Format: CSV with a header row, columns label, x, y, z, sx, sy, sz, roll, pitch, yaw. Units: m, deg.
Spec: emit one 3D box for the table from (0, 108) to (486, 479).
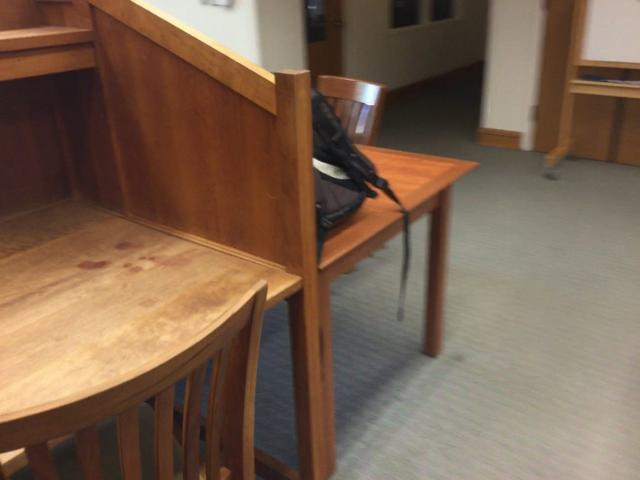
label,x,y,z,sx,sy,sz,roll,pitch,yaw
table,-0.410,0.040,2.240,1.760,0.830,0.960,13,28,35
